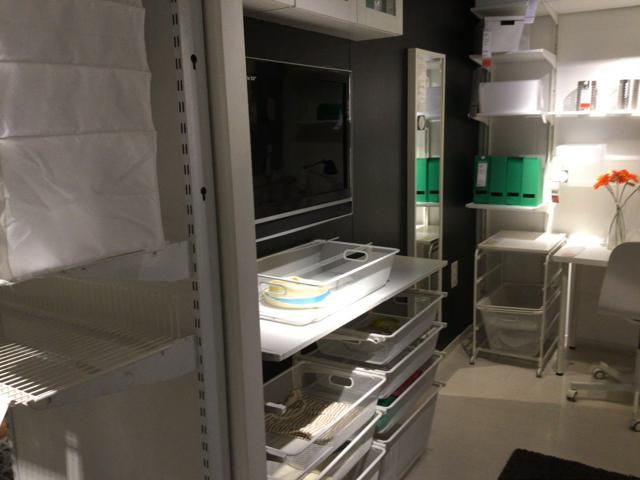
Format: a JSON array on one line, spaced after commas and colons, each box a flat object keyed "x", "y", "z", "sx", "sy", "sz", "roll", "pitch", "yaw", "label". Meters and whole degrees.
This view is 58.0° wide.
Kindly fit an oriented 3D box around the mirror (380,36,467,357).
[{"x": 0.590, "y": -0.230, "z": 3.180, "sx": 0.150, "sy": 1.660, "sz": 0.480, "roll": 6, "pitch": 15, "yaw": 44, "label": "mirror"}]
